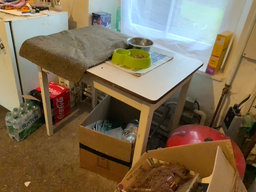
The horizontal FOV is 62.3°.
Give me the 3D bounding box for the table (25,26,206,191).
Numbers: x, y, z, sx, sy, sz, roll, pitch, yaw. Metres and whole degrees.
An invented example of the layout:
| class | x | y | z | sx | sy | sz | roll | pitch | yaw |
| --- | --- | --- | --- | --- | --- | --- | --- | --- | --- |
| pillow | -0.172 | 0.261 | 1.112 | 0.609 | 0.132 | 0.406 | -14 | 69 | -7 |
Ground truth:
| class | x | y | z | sx | sy | sz | roll | pitch | yaw |
| --- | --- | --- | --- | --- | --- | --- | --- | --- | --- |
| table | -0.110 | 0.040 | 1.490 | 0.910 | 0.750 | 0.640 | 26 | 36 | 28 |
